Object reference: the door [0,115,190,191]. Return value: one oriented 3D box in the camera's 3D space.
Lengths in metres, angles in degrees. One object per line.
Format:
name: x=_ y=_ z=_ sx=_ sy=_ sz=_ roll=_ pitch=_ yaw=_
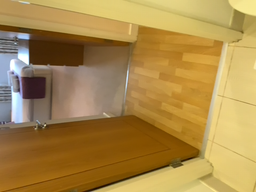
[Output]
door: x=-0.530 y=0.340 z=1.430 sx=0.850 sy=1.890 sz=0.020 roll=20 pitch=108 yaw=52
